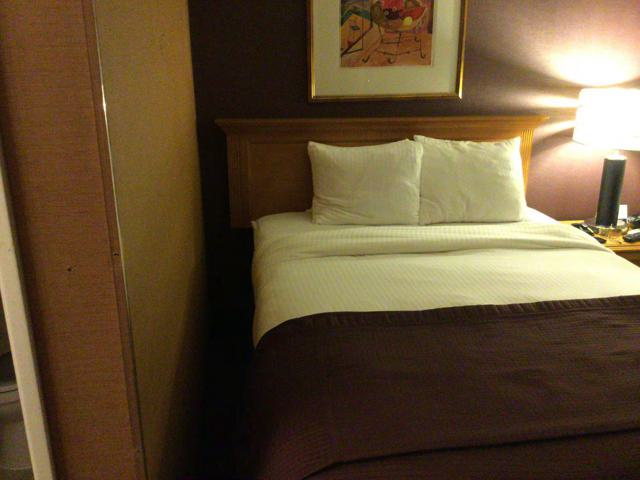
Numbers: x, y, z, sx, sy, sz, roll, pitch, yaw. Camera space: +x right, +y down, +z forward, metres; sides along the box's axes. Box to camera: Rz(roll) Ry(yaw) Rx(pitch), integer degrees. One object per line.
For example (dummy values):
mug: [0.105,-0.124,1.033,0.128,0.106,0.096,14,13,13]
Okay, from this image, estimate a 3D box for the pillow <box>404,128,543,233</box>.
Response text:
pillow: [0.690,-0.290,2.680,0.530,0.410,0.400,-4,12,2]

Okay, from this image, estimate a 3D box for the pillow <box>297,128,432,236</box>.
pillow: [0.200,-0.280,2.670,0.560,0.420,0.370,-4,12,2]
